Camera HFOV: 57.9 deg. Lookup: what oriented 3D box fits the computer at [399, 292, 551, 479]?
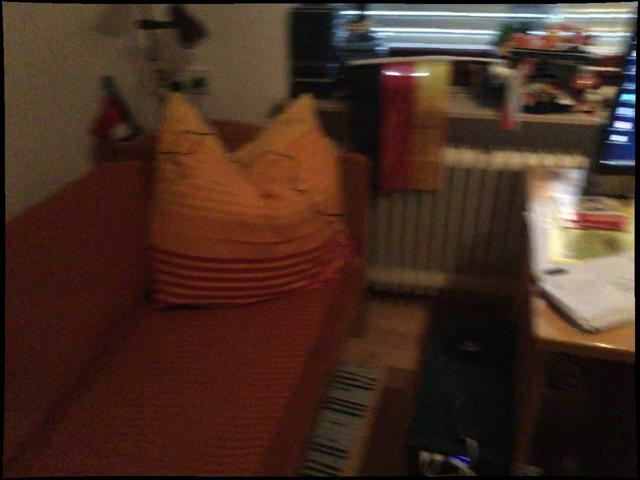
[{"bbox_3d":[0.390,0.490,1.470,0.290,0.470,0.520,4,34,16],"label":"computer"}]
